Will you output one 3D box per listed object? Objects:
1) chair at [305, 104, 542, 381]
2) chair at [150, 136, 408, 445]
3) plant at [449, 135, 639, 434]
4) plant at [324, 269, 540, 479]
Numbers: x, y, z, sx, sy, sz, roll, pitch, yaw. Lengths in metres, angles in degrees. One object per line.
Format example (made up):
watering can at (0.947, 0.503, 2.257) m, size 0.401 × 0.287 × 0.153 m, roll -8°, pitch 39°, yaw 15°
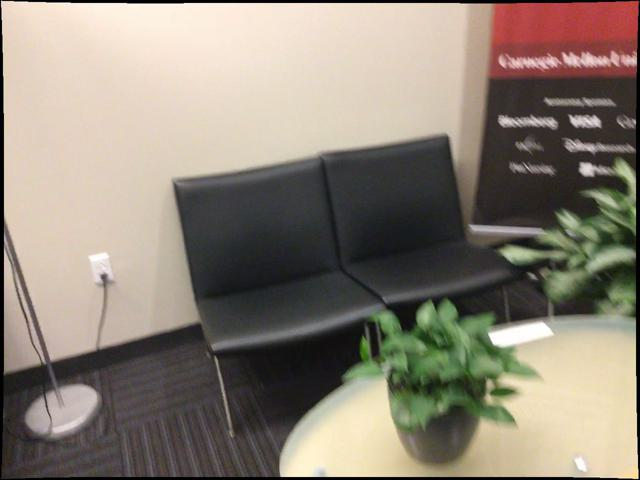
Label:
chair at (0.389, -0.040, 2.270) m, size 0.589 × 0.761 × 0.680 m, roll -17°, pitch 26°, yaw -16°
chair at (-0.160, 0.120, 2.080) m, size 0.629 × 0.731 × 0.690 m, roll -17°, pitch 26°, yaw -16°
plant at (0.998, 0.070, 1.990) m, size 0.739 × 0.551 × 0.790 m, roll -17°, pitch 27°, yaw -16°
plant at (0.229, 0.311, 1.210) m, size 0.309 × 0.331 × 0.300 m, roll -17°, pitch 27°, yaw -16°
